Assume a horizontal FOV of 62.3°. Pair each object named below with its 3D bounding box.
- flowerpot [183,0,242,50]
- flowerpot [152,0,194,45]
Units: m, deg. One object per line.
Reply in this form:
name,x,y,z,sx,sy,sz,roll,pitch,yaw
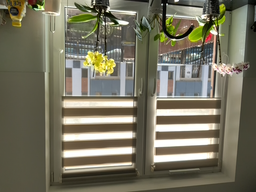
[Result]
flowerpot,0.670,-0.560,1.710,0.330,0.320,0.260,0,-174,-14
flowerpot,0.330,-0.560,1.590,0.220,0.300,0.250,1,-174,-9
